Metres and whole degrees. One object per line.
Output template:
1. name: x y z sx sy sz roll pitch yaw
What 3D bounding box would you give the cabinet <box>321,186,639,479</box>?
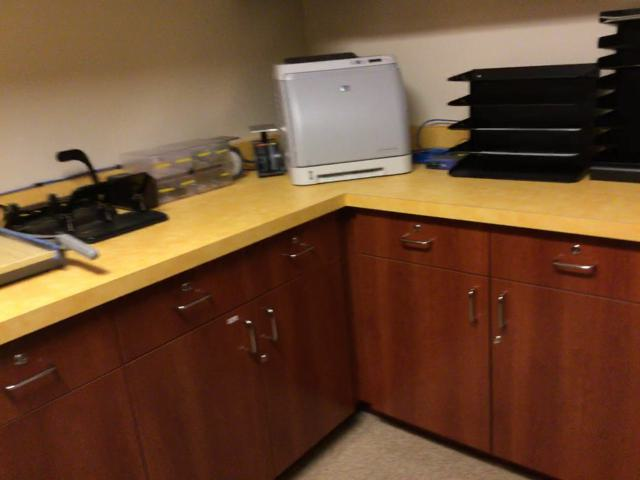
1. cabinet: 0.540 0.280 1.730 0.970 0.780 0.390 7 21 40

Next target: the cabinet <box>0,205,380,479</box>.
1. cabinet: -0.410 0.500 1.340 0.110 0.780 1.670 7 21 40

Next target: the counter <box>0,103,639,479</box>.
1. counter: -0.320 0.070 1.060 1.530 0.270 2.800 7 21 40

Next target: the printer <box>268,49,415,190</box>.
1. printer: 0.050 -0.440 2.050 0.410 0.380 0.570 -8 16 -4
